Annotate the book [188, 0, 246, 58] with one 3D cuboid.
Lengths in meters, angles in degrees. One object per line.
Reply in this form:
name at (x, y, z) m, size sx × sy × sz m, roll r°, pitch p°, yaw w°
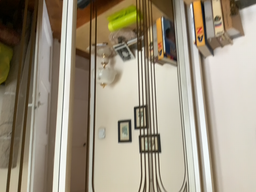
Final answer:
book at (0.520, -0.450, 1.260) m, size 0.250 × 0.350 × 0.170 m, roll -12°, pitch 163°, yaw 40°
